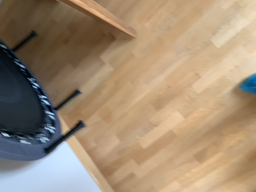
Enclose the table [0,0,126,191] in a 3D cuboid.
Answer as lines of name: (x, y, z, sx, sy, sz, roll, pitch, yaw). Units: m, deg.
table: (-0.630, -0.150, 1.060, 0.310, 1.120, 1.050, -42, 81, 17)
